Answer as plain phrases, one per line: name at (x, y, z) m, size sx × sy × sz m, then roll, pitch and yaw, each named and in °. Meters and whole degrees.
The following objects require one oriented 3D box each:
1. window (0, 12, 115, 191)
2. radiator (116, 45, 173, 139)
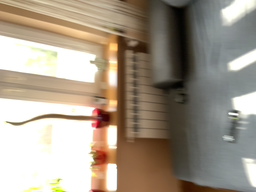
window at (-0.920, 0.160, 1.730) m, size 0.250 × 1.620 × 1.630 m, roll -22°, pitch 64°, yaw 60°
radiator at (0.150, -0.020, 2.020) m, size 0.160 × 0.510 × 0.830 m, roll -26°, pitch 61°, yaw 59°
